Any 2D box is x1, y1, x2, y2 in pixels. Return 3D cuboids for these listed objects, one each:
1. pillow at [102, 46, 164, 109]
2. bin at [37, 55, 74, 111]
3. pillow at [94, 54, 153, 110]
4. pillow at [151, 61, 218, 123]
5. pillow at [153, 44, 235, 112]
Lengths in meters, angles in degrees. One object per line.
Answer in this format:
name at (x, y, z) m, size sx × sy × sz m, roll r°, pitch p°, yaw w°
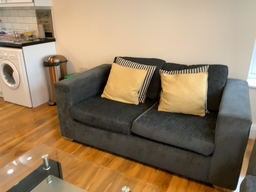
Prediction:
pillow at (0.040, -0.190, 2.380) m, size 0.520 × 0.530 × 0.140 m, roll -24°, pitch 5°, yaw 38°
bin at (-1.040, -0.200, 3.110) m, size 0.280 × 0.720 × 0.340 m, roll 11°, pitch 24°, yaw 25°
pillow at (-0.050, -0.140, 2.250) m, size 0.460 × 0.410 × 0.200 m, roll -25°, pitch 5°, yaw 30°
pillow at (0.520, -0.030, 1.970) m, size 0.480 × 0.440 × 0.200 m, roll -14°, pitch 12°, yaw 20°
pillow at (0.690, -0.170, 2.260) m, size 0.680 × 0.450 × 0.190 m, roll -26°, pitch 5°, yaw 31°
